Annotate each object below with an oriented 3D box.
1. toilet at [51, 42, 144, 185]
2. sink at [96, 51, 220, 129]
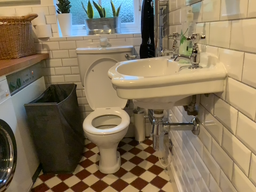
[{"bbox_3d":[-0.170,0.080,1.730,0.530,0.940,0.710,-2,18,1],"label":"toilet"},{"bbox_3d":[0.090,-0.060,0.860,0.360,0.180,0.460,-2,18,0],"label":"sink"}]
